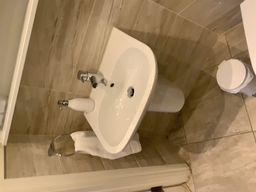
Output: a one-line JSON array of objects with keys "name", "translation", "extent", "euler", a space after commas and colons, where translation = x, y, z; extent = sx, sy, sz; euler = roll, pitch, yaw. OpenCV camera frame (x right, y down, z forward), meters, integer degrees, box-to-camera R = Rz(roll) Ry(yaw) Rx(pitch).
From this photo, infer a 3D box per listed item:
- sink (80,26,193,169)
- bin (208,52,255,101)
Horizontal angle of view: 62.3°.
[{"name": "sink", "translation": [-0.010, -0.010, 1.090], "extent": [0.460, 0.180, 0.550], "euler": [46, 119, 48]}, {"name": "bin", "translation": [0.630, -0.100, 1.230], "extent": [0.170, 0.250, 0.190], "euler": [-25, 63, 49]}]
